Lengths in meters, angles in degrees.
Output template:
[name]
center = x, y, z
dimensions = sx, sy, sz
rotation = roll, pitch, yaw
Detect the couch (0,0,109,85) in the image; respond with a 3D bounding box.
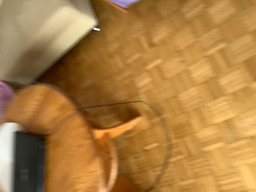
[couch]
center = -0.830, -0.650, 1.460
dimensions = 0.900, 0.810, 0.780
rotation = -29, 73, 29

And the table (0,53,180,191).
[table]
center = -0.310, 0.350, 1.230
dimensions = 0.780, 0.600, 0.790
rotation = -31, 73, 29
